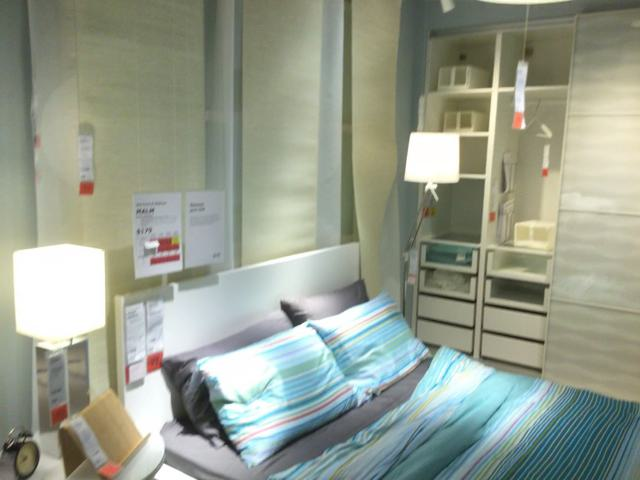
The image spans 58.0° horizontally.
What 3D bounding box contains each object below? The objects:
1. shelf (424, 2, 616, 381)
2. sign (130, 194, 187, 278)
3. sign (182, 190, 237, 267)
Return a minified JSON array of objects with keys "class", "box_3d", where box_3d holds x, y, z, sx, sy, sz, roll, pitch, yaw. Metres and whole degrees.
[{"class":"shelf","box_3d":[1.250,-0.310,3.830,0.960,2.240,0.480,12,21,39]},{"class":"sign","box_3d":[-0.580,-0.020,2.080,0.040,0.280,0.210,12,13,38]},{"class":"sign","box_3d":[-0.430,-0.050,2.280,0.040,0.270,0.230,12,18,39]}]
